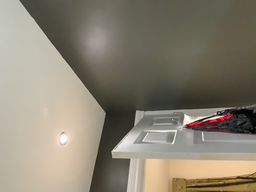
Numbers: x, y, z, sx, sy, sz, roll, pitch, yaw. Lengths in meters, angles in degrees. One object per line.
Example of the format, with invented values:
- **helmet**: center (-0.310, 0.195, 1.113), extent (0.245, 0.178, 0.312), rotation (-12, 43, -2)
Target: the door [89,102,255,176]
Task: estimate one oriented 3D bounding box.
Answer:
- **door**: center (0.910, 0.170, 1.110), extent (0.760, 2.080, 0.120), rotation (-35, -61, -69)
